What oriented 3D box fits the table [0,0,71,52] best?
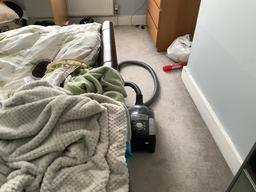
[{"bbox_3d":[-1.540,-1.040,2.590,1.460,0.740,0.700,-3,40,-4],"label":"table"}]
